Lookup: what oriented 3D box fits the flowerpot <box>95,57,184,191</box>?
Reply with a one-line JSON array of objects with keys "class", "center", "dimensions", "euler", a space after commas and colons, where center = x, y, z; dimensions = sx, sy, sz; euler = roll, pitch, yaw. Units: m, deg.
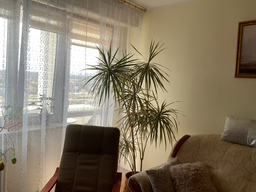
[{"class": "flowerpot", "center": [0.060, 0.420, 2.730], "dimensions": [0.820, 1.680, 0.890], "euler": [4, 5, -10]}]

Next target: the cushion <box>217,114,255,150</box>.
[{"class": "cushion", "center": [1.190, 0.360, 2.150], "dimensions": [0.460, 0.270, 0.180], "euler": [9, 7, 43]}]

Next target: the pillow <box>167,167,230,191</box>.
[{"class": "pillow", "center": [0.630, 0.830, 1.980], "dimensions": [0.480, 0.370, 0.150], "euler": [-2, 42, 1]}]
